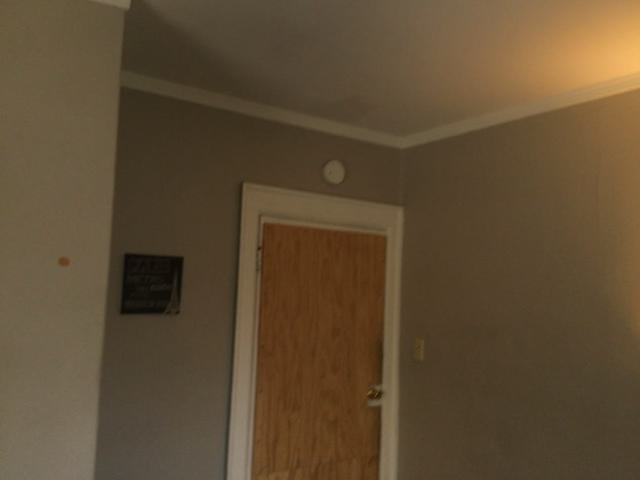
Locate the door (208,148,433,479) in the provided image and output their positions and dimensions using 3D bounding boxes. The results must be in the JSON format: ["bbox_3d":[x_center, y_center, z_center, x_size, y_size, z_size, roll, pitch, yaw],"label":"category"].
[{"bbox_3d":[0.030,0.730,2.880,1.080,2.180,0.140,9,-8,-29],"label":"door"}]
